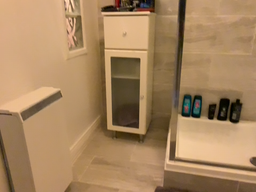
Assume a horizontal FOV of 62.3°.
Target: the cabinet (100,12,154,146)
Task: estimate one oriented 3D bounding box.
[{"bbox_3d":[0.010,-0.150,1.880,0.360,1.100,0.350,5,21,14],"label":"cabinet"}]
